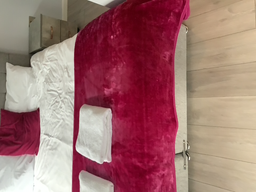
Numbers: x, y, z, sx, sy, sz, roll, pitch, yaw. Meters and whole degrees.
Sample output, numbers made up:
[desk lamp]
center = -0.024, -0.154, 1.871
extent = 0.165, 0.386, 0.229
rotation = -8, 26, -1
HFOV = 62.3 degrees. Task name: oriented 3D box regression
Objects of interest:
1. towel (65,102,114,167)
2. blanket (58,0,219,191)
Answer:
[towel]
center = -0.280, 0.230, 1.440
extent = 0.470, 0.090, 0.360
rotation = 1, 90, 48
[blanket]
center = 0.010, 0.420, 1.510
extent = 0.990, 0.610, 2.260
rotation = 0, 89, 48
